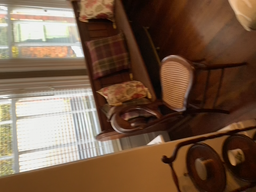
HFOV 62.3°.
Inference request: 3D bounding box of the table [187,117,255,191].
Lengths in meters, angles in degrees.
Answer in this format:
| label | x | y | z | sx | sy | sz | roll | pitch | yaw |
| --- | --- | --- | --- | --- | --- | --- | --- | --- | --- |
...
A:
| label | x | y | z | sx | sy | sz | roll | pitch | yaw |
| --- | --- | --- | --- | --- | --- | --- | --- | --- | --- |
| table | 0.650 | 0.270 | 1.100 | 0.220 | 0.590 | 0.260 | 123 | 135 | -53 |
